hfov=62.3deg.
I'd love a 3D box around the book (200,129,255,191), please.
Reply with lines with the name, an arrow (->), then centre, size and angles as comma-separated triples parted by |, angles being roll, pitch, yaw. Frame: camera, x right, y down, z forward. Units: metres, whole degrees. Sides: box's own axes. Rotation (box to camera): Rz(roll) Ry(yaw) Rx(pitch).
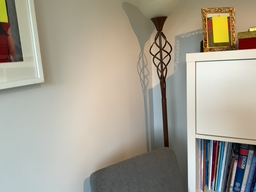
book -> 0.550, 0.370, 1.150 | 0.260, 0.280, 0.250 | 3, 11, 28

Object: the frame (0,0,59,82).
frame -> -0.320, -0.230, 0.510 | 0.030, 0.390, 0.330 | 3, 11, 28
